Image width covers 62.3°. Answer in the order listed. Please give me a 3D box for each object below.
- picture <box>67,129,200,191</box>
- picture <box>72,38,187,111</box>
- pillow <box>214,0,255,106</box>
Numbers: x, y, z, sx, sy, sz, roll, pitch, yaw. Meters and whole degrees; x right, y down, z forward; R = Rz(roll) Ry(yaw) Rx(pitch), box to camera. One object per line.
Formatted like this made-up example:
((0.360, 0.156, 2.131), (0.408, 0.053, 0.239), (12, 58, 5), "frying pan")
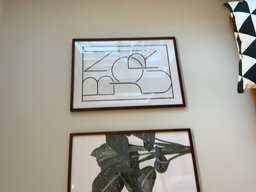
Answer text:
((0.030, 0.460, 1.190), (0.040, 0.720, 0.510), (98, 169, -69), "picture")
((0.000, -0.160, 1.400), (0.030, 0.710, 0.490), (99, 168, -71), "picture")
((0.850, -0.350, 1.190), (0.230, 0.550, 0.680), (32, -131, -54), "pillow")
